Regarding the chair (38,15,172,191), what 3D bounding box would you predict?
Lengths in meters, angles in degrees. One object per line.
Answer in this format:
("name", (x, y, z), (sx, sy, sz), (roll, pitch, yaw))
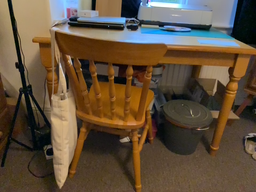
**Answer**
("chair", (-0.080, 0.020, 1.210), (0.500, 0.810, 0.550), (10, 28, 9))
